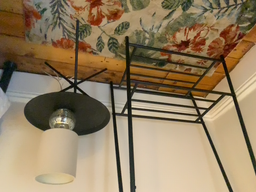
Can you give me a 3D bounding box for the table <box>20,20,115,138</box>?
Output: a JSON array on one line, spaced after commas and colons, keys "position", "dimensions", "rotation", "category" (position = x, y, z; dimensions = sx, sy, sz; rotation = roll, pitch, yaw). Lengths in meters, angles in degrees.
[{"position": [-0.310, -0.070, 1.150], "dimensions": [0.380, 0.440, 0.390], "rotation": [8, 142, -16], "category": "table"}]
